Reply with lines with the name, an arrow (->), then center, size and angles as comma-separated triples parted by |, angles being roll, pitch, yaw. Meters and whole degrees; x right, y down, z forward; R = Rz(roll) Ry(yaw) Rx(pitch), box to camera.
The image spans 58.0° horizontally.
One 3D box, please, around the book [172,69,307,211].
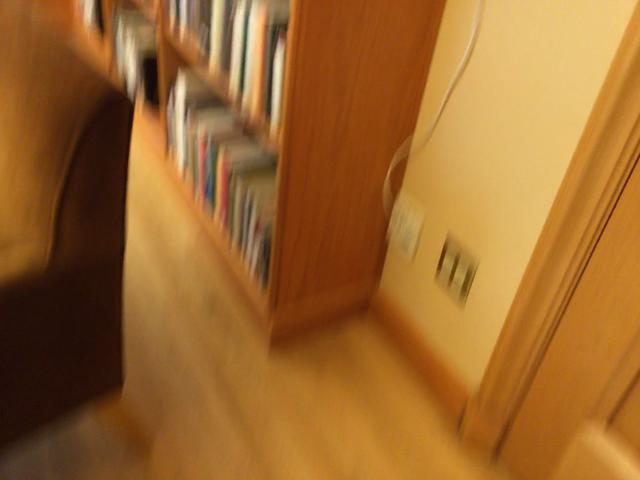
book -> -0.270, -0.330, 1.760 | 0.160, 0.140, 0.640 | -12, 41, -28
